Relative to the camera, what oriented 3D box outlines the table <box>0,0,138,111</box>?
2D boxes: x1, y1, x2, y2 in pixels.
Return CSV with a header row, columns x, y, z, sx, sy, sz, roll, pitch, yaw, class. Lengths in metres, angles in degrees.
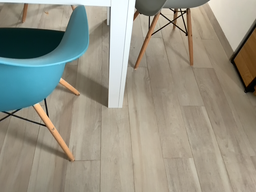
x,y,z,sx,sy,sz,roll,pitch,yaw,class
-0.840,-0.520,1.110,1.620,0.760,0.930,0,53,-8,table
